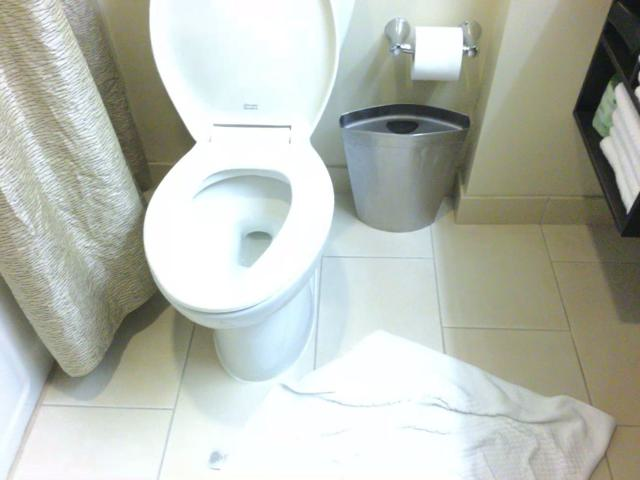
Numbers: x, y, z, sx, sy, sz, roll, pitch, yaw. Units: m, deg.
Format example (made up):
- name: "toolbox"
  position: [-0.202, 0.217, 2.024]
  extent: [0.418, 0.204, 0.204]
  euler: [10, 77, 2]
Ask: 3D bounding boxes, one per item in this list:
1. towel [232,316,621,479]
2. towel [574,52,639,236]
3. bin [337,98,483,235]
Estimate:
- name: "towel"
  position: [0.210, 0.360, 1.230]
  extent: [0.740, 0.040, 0.430]
  euler: [1, 47, 4]
- name: "towel"
  position: [0.590, -0.200, 1.140]
  extent: [0.040, 0.170, 0.370]
  euler: [1, 47, 4]
- name: "bin"
  position: [0.220, -0.190, 1.530]
  extent: [0.340, 0.320, 0.170]
  euler: [1, 47, 4]
